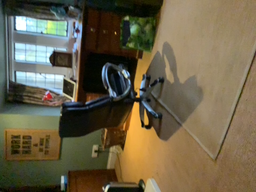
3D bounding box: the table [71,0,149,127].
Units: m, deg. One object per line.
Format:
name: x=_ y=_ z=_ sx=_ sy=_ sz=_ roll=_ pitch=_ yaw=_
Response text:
table: x=-0.360 y=-0.460 z=3.180 sx=0.740 sy=0.820 sz=1.690 roll=-124 pitch=41 yaw=-61
